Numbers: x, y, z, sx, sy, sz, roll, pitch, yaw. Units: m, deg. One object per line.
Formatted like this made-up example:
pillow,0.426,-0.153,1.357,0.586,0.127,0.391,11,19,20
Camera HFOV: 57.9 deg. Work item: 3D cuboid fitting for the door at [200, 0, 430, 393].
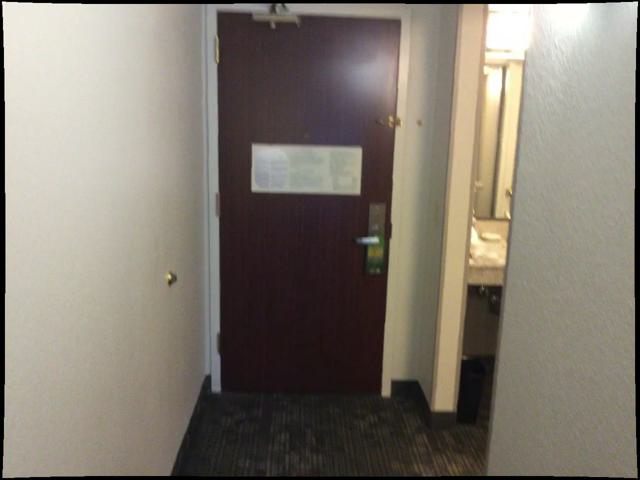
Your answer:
door,-0.070,-0.150,2.970,1.019,1.952,0.160,3,14,-4

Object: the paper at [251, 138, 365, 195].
paper,-0.060,-0.370,2.930,0.559,0.250,0.040,3,13,-4
